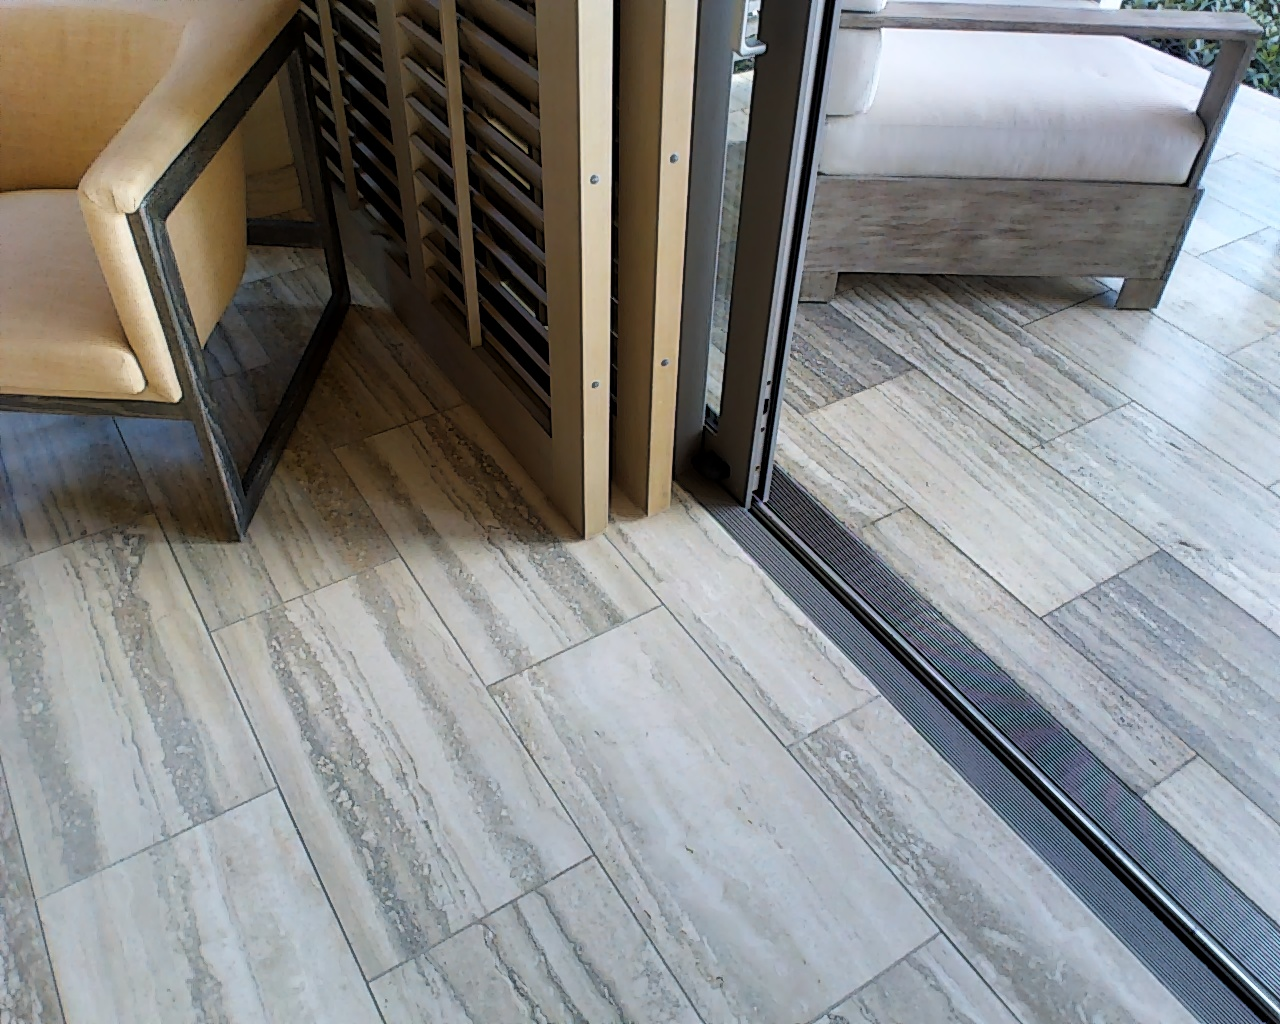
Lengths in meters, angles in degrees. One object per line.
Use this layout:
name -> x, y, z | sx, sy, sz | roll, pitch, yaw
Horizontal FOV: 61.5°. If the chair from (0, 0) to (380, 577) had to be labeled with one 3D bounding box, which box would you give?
chair -> -0.940, -0.430, 1.770 | 0.730, 0.640, 0.800 | 4, 44, 3
